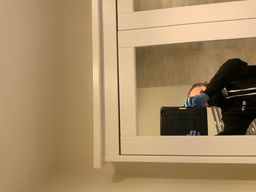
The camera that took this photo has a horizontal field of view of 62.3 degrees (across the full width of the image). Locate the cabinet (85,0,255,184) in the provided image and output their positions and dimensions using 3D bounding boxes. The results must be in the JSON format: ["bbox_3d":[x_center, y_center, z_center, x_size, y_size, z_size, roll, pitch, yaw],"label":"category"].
[{"bbox_3d":[0.380,-0.190,0.640,0.160,1.010,0.840,24,-115,-80],"label":"cabinet"}]
